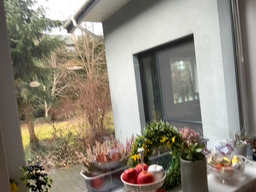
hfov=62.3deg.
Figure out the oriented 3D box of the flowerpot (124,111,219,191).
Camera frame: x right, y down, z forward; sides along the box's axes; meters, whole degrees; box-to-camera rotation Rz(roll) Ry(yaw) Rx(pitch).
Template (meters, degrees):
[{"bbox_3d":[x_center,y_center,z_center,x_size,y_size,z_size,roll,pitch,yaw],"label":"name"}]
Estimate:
[{"bbox_3d":[0.240,0.310,1.200,0.370,0.380,0.330,-8,4,-34],"label":"flowerpot"}]
